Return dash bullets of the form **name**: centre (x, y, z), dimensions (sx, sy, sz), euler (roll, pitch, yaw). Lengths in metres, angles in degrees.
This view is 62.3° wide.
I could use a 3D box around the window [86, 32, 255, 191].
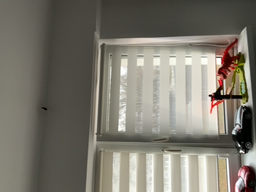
- **window**: centre (0.320, 0.350, 1.610), dimensions (0.230, 1.180, 1.670), euler (64, -153, -76)
